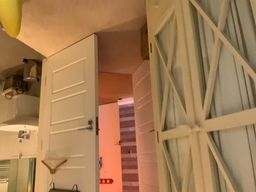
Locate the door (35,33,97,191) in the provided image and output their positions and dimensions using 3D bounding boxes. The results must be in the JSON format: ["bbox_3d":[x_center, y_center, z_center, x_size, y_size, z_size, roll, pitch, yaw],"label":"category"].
[{"bbox_3d":[-0.640,0.430,2.120,0.840,2.030,0.030,-14,162,33],"label":"door"}]
